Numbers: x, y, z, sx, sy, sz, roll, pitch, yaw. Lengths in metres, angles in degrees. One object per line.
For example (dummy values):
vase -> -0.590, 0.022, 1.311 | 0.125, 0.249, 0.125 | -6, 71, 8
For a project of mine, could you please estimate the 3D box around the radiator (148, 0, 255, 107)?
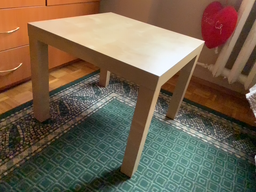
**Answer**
radiator -> 0.660, -0.370, 1.390 | 0.930, 0.630, 0.240 | 26, 34, 21
